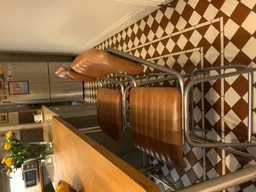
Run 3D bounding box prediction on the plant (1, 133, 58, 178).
[{"bbox_3d":[-1.050,0.610,2.270,0.300,0.500,0.310,1,94,62],"label":"plant"}]
